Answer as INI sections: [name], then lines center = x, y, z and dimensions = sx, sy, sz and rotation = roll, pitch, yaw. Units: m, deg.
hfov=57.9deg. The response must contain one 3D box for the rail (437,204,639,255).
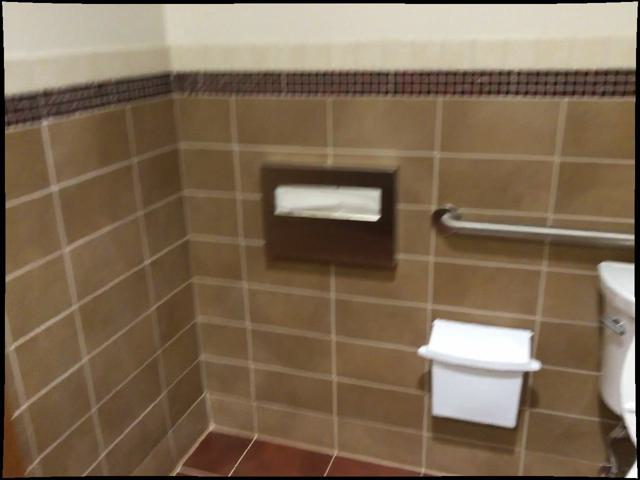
[rail]
center = 0.779, -0.010, 1.410
dimensions = 0.969, 0.070, 0.070
rotation = 5, 22, 19

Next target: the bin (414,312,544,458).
[bin]
center = 0.450, 0.410, 1.660
dimensions = 0.330, 0.340, 0.130
rotation = 5, 22, 19

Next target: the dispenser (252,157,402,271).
[dispenser]
center = 0.020, -0.080, 1.680
dimensions = 0.420, 0.290, 0.080
rotation = 5, 22, 19
